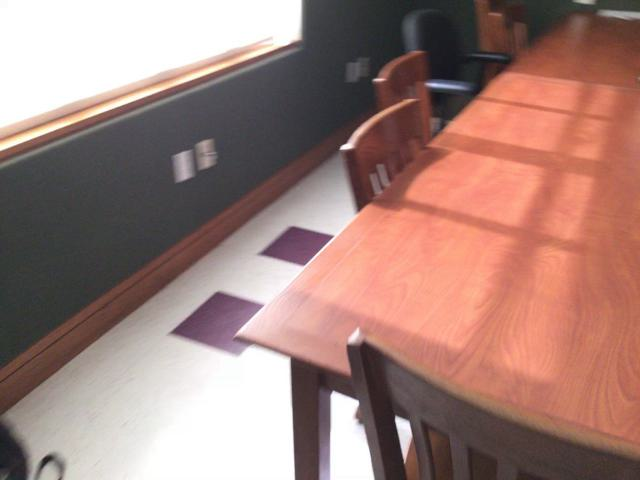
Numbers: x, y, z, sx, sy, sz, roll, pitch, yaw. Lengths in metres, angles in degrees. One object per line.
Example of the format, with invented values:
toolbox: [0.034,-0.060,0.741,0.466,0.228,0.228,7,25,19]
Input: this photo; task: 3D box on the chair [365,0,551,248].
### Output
chair: [0.640,-0.600,2.740,0.610,0.940,0.720,13,34,24]

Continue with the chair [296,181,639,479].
chair: [0.380,0.460,0.980,0.600,0.880,0.560,13,34,24]
